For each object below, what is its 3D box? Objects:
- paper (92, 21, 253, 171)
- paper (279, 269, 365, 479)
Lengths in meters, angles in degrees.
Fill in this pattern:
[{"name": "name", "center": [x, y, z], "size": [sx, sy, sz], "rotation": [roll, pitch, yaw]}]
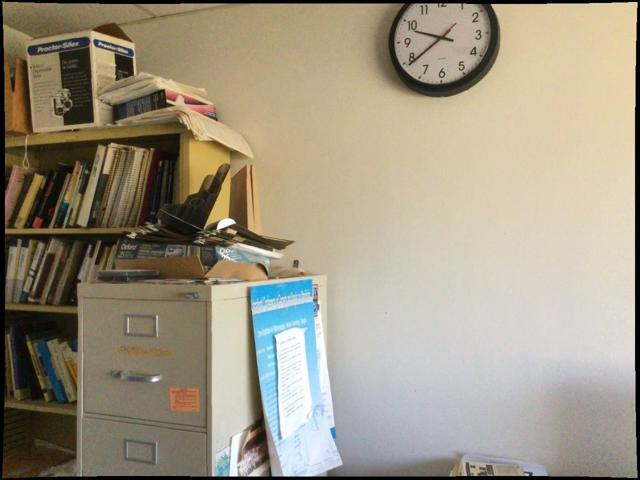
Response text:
[{"name": "paper", "center": [-0.499, -0.471, 2.010], "size": [0.399, 0.391, 0.380], "rotation": [-1, -1, 19]}, {"name": "paper", "center": [0.020, 0.411, 1.750], "size": [0.110, 0.632, 0.470], "rotation": [-1, -1, 19]}]
